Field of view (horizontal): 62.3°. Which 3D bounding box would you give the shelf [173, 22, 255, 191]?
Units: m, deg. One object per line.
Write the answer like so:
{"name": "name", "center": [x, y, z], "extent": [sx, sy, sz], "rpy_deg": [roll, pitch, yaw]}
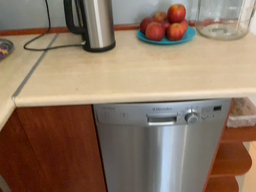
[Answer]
{"name": "shelf", "center": [0.470, 0.130, 1.130], "extent": [0.260, 0.850, 0.570], "rpy_deg": [-2, 36, 0]}
